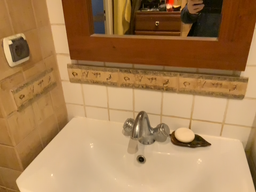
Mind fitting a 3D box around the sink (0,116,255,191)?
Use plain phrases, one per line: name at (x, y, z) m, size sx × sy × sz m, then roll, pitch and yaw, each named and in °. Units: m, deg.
sink at (0.010, 0.290, 0.660) m, size 0.670 × 0.160 × 0.430 m, roll 7°, pitch 29°, yaw 14°
